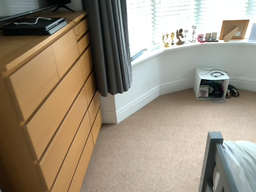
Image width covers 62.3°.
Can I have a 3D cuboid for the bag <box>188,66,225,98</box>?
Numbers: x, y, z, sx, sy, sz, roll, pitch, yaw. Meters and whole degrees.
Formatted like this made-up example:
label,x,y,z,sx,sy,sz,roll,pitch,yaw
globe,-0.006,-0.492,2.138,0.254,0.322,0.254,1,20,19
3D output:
label,x,y,z,sx,sy,sz,roll,pitch,yaw
bag,1.030,-0.190,2.830,0.370,0.330,0.300,1,31,7
